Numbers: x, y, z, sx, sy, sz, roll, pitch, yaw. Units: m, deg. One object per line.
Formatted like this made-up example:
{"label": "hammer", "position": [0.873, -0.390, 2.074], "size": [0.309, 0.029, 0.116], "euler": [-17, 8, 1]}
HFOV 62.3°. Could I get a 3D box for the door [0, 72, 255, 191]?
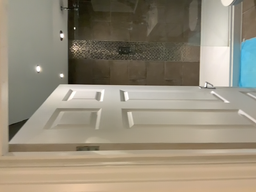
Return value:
{"label": "door", "position": [0.510, 0.080, 1.160], "size": [1.040, 2.090, 0.140], "euler": [-103, 15, -69]}
